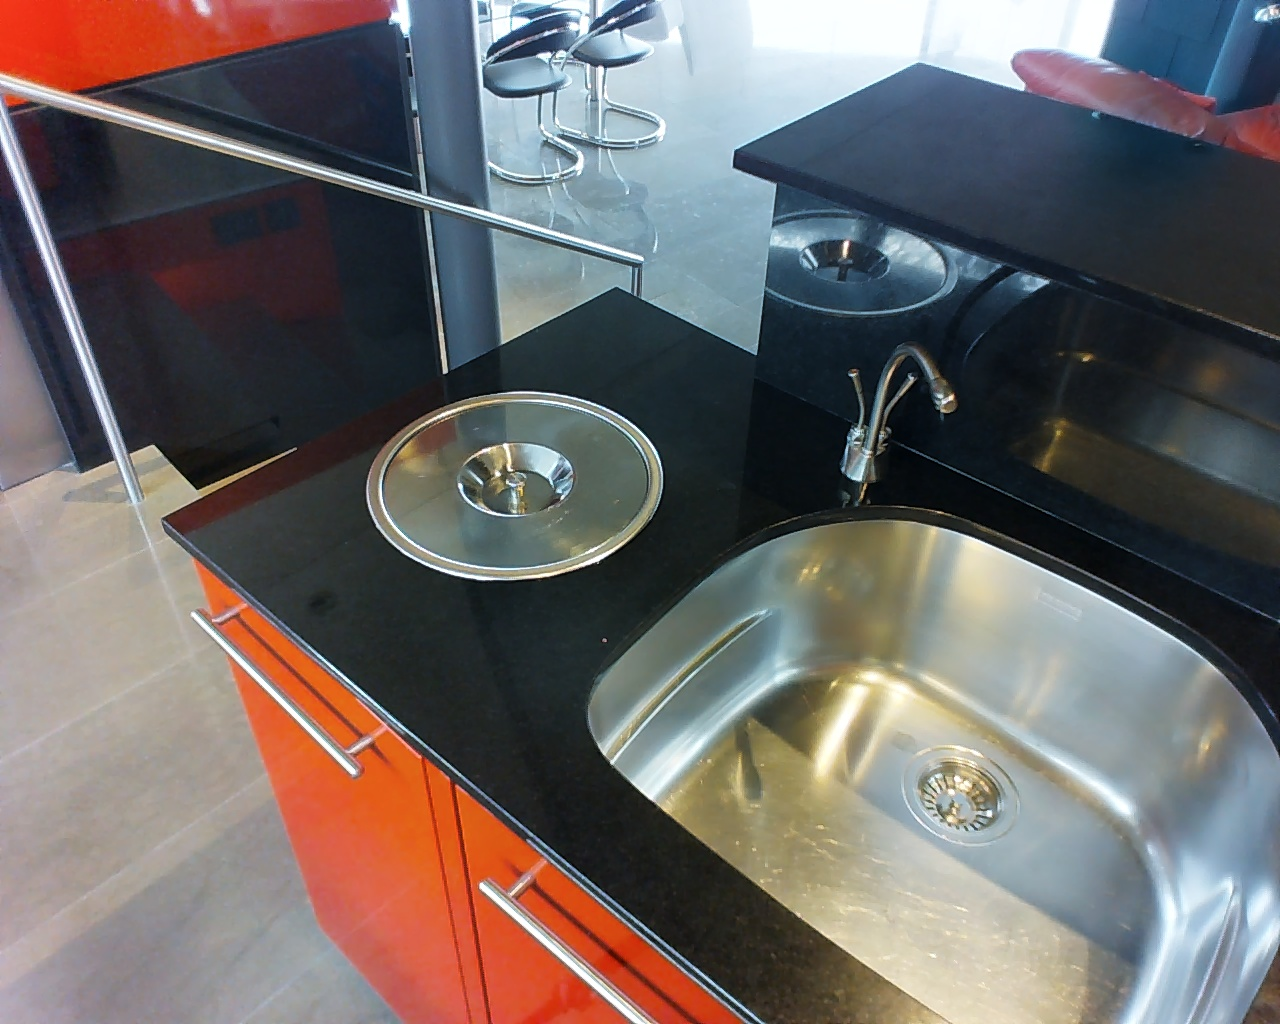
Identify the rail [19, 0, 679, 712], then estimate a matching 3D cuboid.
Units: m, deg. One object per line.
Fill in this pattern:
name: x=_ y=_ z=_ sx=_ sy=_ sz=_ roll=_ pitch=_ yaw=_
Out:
rail: x=-0.530 y=-0.510 z=2.880 sx=0.150 sy=1.790 sz=1.580 roll=33 pitch=49 yaw=31
